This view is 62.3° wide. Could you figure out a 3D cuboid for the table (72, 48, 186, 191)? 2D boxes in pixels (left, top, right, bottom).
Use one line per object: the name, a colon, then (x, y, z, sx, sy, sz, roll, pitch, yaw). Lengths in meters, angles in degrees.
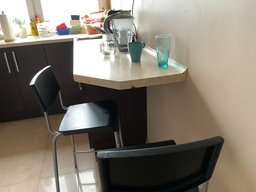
table: (-0.030, 0.220, 1.350, 0.500, 0.890, 0.610, -8, 24, -11)
